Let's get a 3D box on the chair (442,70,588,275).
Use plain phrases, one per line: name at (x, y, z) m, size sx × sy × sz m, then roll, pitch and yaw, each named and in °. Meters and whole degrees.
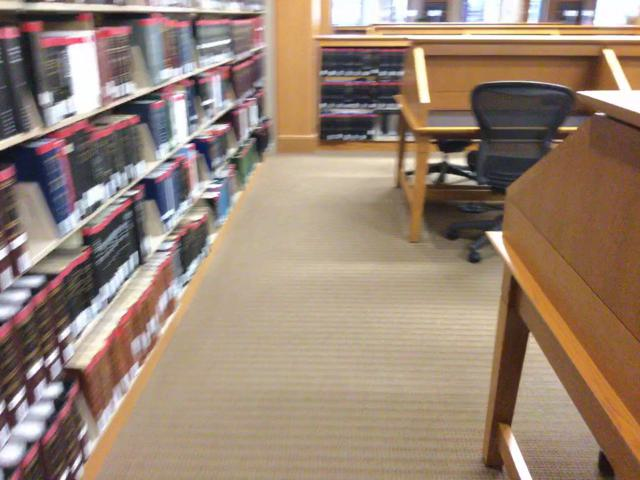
chair at (1.130, -0.430, 3.370) m, size 0.640 × 1.000 × 0.650 m, roll 8°, pitch 24°, yaw 21°
